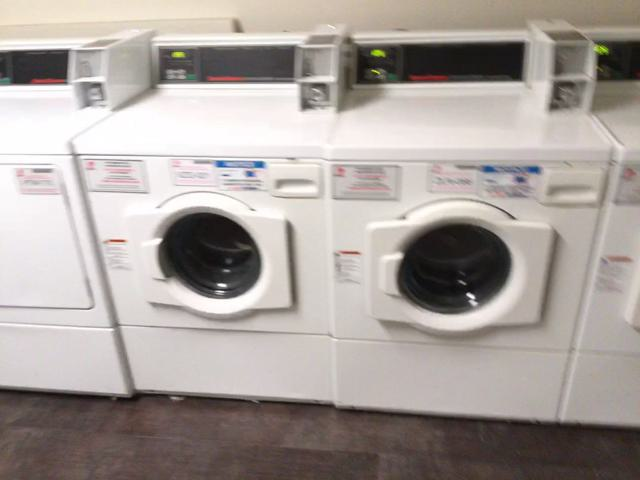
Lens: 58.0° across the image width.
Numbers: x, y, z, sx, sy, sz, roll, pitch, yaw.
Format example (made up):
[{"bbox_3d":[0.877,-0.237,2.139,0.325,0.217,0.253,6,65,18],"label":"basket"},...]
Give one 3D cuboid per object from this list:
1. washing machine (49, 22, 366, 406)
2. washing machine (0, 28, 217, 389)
[{"bbox_3d":[-0.240,-0.110,1.940,0.670,1.040,0.750,-3,25,9],"label":"washing machine"},{"bbox_3d":[-0.890,-0.120,2.010,0.710,1.030,0.690,-3,25,9],"label":"washing machine"}]
